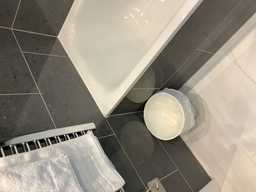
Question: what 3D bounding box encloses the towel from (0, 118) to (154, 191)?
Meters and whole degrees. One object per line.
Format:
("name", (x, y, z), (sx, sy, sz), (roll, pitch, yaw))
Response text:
("towel", (-0.280, 0.280, 0.640), (0.330, 0.790, 0.130), (54, 124, 25))
